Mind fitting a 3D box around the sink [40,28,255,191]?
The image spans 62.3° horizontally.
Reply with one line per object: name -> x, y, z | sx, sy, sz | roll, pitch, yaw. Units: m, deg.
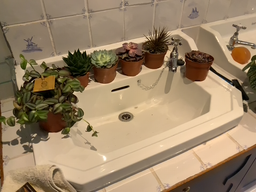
sink -> 0.070, 0.010, 0.800 | 0.650, 0.260, 0.480 | -16, 43, -18
